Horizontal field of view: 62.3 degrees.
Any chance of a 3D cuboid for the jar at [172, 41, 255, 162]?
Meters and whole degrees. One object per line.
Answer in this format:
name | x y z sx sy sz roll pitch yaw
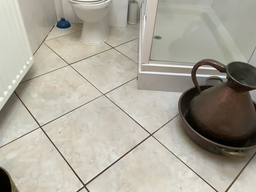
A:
jar | 0.530 0.020 1.160 0.450 0.390 0.500 5 43 0
